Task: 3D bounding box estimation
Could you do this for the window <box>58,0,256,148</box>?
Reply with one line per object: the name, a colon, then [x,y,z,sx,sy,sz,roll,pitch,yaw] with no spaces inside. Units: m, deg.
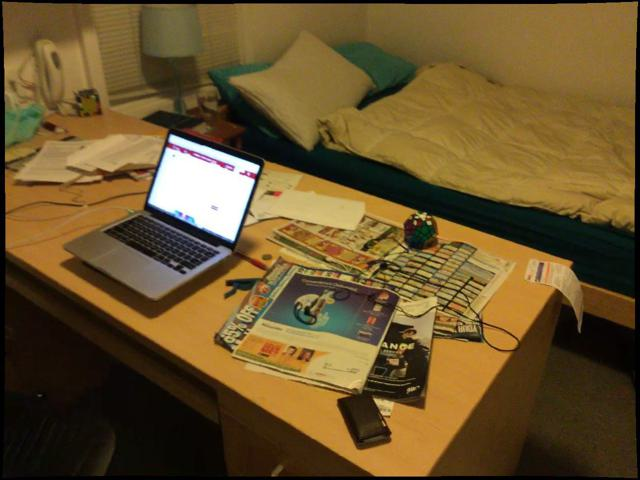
window: [-0.609,-1.311,2.090,0.170,1.781,0.830,22,37,29]
